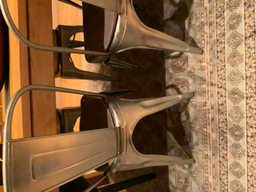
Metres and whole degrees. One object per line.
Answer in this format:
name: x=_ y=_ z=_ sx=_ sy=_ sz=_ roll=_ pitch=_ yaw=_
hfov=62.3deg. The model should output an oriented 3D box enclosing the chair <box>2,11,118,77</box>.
chair: x=-0.530 y=-0.340 z=1.650 sx=0.490 sy=0.740 sz=0.340 roll=0 pitch=92 yaw=56
